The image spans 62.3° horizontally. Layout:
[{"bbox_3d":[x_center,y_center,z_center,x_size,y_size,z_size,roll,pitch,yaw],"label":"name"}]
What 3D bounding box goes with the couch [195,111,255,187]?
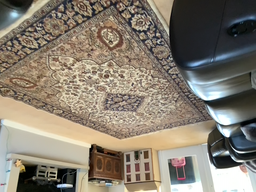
[{"bbox_3d":[1.780,0.860,3.320,0.990,0.930,0.980,-1,154,-4],"label":"couch"}]
